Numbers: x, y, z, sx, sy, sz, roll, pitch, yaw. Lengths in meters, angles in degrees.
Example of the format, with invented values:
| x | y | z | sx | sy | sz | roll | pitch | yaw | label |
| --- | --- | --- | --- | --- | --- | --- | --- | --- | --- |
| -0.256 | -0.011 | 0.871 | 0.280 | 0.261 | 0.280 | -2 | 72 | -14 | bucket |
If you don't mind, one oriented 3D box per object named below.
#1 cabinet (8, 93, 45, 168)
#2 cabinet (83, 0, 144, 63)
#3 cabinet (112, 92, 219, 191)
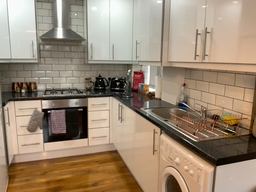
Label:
| x | y | z | sx | sy | sz | roll | pitch | yaw | label |
| --- | --- | --- | --- | --- | --- | --- | --- | --- | --- |
| -1.420 | 0.450 | 3.040 | 0.360 | 0.880 | 0.590 | -3 | 10 | -19 | cabinet |
| -0.230 | -1.060 | 3.330 | 0.880 | 1.060 | 0.310 | -3 | 10 | -19 | cabinet |
| 0.280 | 0.540 | 2.550 | 0.600 | 0.930 | 1.470 | -3 | 11 | -18 | cabinet |
